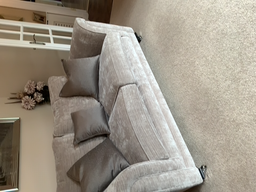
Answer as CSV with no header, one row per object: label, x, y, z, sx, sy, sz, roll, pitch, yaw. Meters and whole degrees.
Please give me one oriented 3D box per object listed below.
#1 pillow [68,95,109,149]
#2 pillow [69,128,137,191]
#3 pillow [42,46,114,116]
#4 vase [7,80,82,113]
pillow,-0.390,0.250,2.040,0.170,0.310,0.420,-43,41,25
pillow,-0.210,0.570,1.700,0.190,0.450,0.500,-46,37,20
pillow,-0.500,-0.150,2.230,0.200,0.520,0.500,22,71,47
vase,-1.270,-0.010,3.270,0.340,1.010,0.340,53,137,49
